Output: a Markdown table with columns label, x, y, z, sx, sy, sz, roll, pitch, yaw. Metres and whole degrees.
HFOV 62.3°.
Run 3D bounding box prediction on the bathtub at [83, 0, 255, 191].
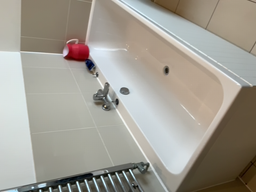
| label | x | y | z | sx | sy | sz | roll | pitch | yaw |
| --- | --- | --- | --- | --- | --- | --- | --- | --- | --- |
| bathtub | 0.200 | -0.240 | 1.650 | 1.690 | 0.550 | 0.710 | 54 | 136 | 44 |
